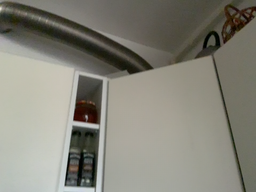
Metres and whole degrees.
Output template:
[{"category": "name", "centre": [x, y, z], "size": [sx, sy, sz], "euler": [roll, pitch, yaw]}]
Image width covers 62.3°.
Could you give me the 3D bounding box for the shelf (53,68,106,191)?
[{"category": "shelf", "centre": [-0.210, 0.370, 0.810], "size": [0.120, 0.950, 0.280], "euler": [12, -31, -20]}]
